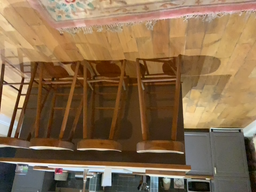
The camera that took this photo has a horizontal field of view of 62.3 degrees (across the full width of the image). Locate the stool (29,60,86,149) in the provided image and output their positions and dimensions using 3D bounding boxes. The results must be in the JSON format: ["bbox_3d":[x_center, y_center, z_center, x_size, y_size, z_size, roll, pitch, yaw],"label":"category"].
[{"bbox_3d":[-0.650,0.080,2.060,0.290,0.800,0.300,0,159,10],"label":"stool"}]

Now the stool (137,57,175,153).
[{"bbox_3d":[0.260,0.080,1.920,0.290,0.800,0.300,0,159,10],"label":"stool"}]
